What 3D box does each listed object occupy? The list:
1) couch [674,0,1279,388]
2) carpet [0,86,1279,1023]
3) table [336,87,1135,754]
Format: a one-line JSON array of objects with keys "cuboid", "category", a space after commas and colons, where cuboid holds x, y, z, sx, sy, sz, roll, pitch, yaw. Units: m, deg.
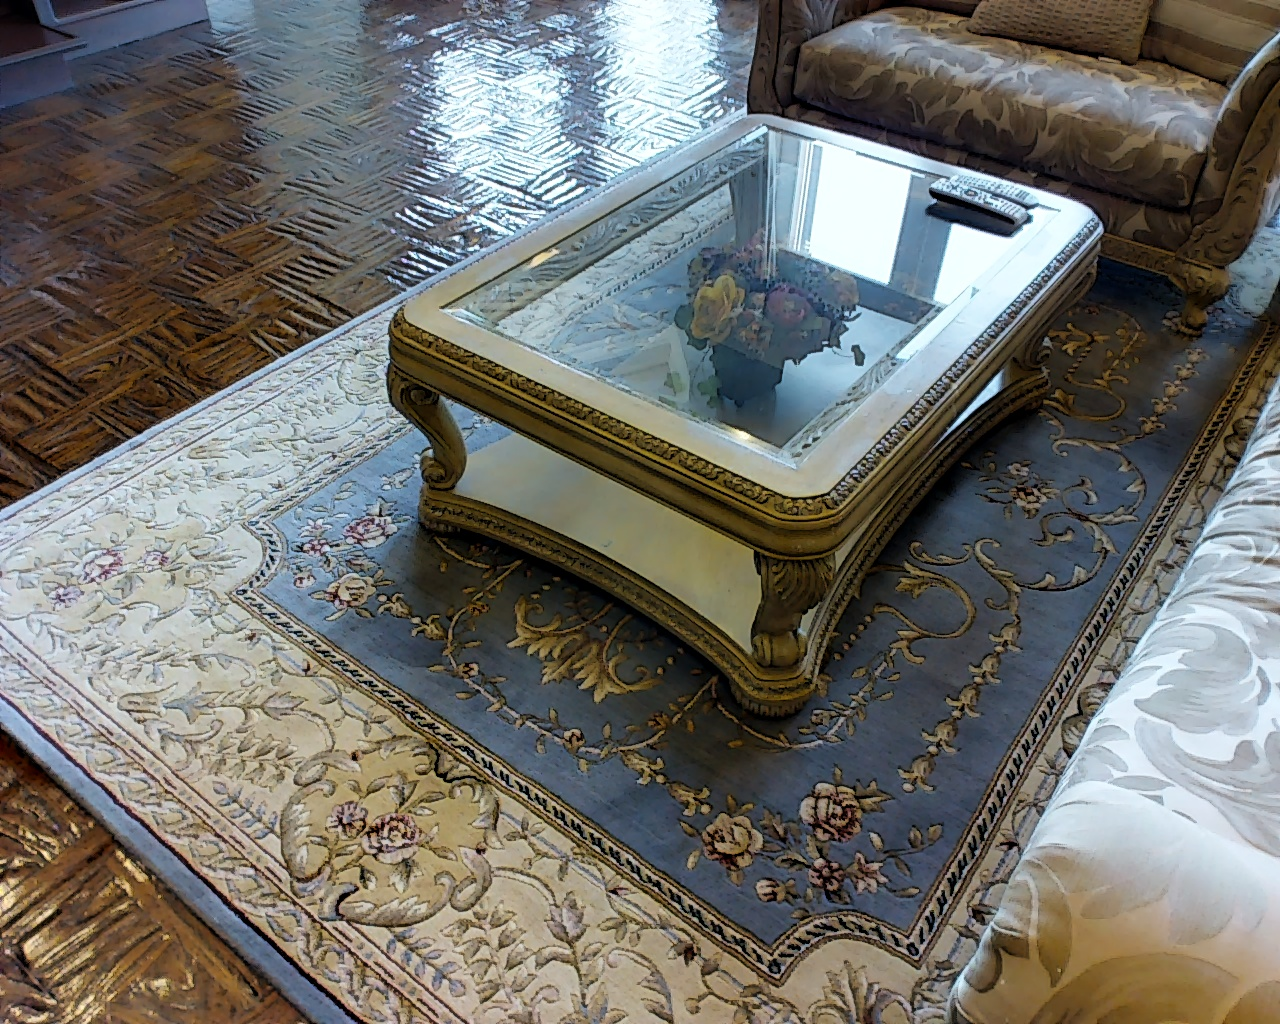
[{"cuboid": [1.200, -1.330, 3.090, 1.850, 0.920, 1.160, 27, 48, 27], "category": "couch"}, {"cuboid": [0.260, -0.300, 2.520, 2.080, 0.010, 3.340, 27, 48, 27], "category": "carpet"}, {"cuboid": [0.250, -0.330, 2.210, 0.950, 0.510, 1.330, 27, 48, 27], "category": "table"}]
